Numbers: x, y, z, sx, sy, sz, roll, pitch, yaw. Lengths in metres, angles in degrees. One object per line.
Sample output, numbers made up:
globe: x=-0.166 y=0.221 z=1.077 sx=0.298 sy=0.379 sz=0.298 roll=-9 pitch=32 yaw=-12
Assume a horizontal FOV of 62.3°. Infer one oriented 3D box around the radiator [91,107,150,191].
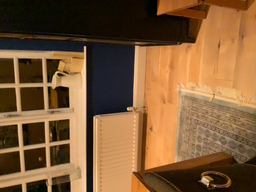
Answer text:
radiator: x=-0.110 y=1.100 z=2.590 sx=0.140 sy=0.660 sz=1.920 roll=26 pitch=116 yaw=60
